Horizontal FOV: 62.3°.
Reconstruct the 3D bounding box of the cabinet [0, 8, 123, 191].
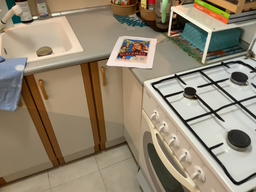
[{"bbox_3d":[-0.540,0.010,1.400,0.850,0.860,0.570,-16,43,-17],"label":"cabinet"}]
